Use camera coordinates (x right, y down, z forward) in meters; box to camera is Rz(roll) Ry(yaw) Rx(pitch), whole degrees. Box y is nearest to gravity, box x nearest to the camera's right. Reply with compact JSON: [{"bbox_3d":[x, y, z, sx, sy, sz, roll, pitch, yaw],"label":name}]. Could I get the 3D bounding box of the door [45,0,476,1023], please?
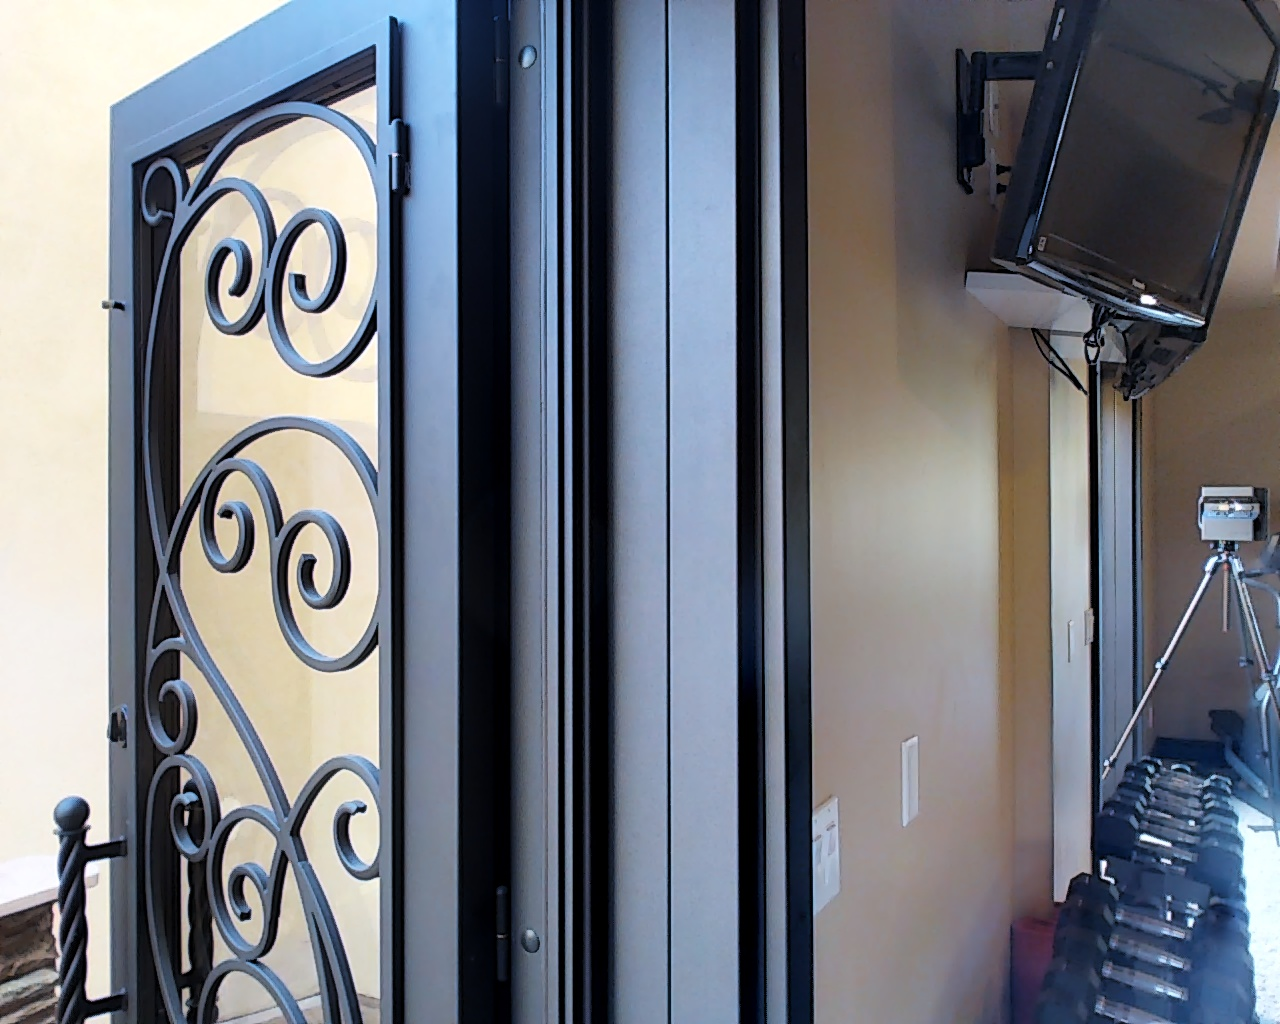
[{"bbox_3d":[-0.540,0.440,1.430,0.770,2.180,0.140,0,1,38],"label":"door"}]
